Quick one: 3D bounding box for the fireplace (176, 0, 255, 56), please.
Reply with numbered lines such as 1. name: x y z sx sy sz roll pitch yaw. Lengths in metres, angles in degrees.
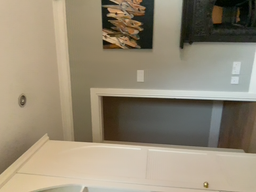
1. fireplace: 1.080 -0.890 2.390 0.270 0.970 0.820 -69 -20 -71
